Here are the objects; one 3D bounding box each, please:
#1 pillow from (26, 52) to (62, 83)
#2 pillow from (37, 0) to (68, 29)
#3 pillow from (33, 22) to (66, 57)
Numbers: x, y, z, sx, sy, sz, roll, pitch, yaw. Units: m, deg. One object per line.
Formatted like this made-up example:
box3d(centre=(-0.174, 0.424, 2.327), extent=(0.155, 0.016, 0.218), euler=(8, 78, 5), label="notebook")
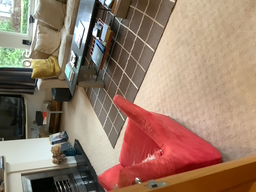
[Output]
box3d(centre=(-1.460, -0.510, 3.690), extent=(0.460, 0.470, 0.230), euler=(52, 148, 37), label="pillow")
box3d(centre=(-1.230, -1.400, 3.470), extent=(0.210, 0.430, 0.510), euler=(55, 147, 34), label="pillow")
box3d(centre=(-1.360, -0.990, 3.710), extent=(0.140, 0.420, 0.500), euler=(51, 152, 35), label="pillow")
